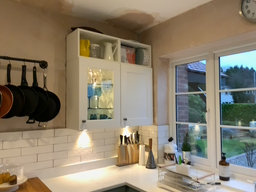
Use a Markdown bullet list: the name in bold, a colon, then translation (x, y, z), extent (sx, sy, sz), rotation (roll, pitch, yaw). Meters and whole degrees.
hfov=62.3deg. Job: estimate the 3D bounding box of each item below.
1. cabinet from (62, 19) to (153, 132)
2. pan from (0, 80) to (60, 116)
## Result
- **cabinet**: translation (-0.200, -0.180, 2.470), extent (1.030, 1.080, 0.340), rotation (2, -3, -38)
- **pan**: translation (-1.080, 0.020, 1.850), extent (0.940, 0.300, 0.130), rotation (1, -3, -37)
